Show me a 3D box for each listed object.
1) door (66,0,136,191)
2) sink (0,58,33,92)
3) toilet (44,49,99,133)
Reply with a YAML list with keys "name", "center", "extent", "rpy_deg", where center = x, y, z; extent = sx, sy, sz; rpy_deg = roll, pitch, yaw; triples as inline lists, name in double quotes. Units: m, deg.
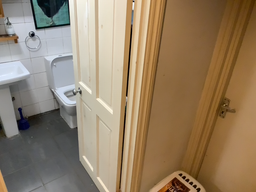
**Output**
- name: "door"
  center: [-0.230, -0.050, 1.490]
  extent: [0.050, 2.110, 0.710]
  rpy_deg: [-17, 36, -32]
- name: "sink"
  center: [-1.330, -0.200, 2.140]
  extent: [0.560, 0.140, 0.430]
  rpy_deg: [-18, 37, -34]
- name: "toilet"
  center: [-0.700, -0.080, 2.670]
  extent: [0.410, 0.810, 0.600]
  rpy_deg: [-18, 37, -34]
